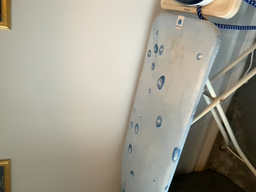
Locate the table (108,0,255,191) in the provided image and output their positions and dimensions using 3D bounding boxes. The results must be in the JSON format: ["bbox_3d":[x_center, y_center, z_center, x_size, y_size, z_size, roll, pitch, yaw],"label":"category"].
[{"bbox_3d":[0.500,0.130,1.240,0.560,0.860,1.610,-133,50,-57],"label":"table"}]
